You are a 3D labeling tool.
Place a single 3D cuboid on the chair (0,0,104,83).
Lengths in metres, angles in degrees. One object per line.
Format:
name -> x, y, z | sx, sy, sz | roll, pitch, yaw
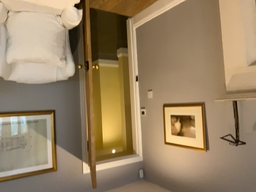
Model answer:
chair -> -0.800, -0.670, 1.890 | 0.870, 1.000, 1.000 | -2, 178, -24
